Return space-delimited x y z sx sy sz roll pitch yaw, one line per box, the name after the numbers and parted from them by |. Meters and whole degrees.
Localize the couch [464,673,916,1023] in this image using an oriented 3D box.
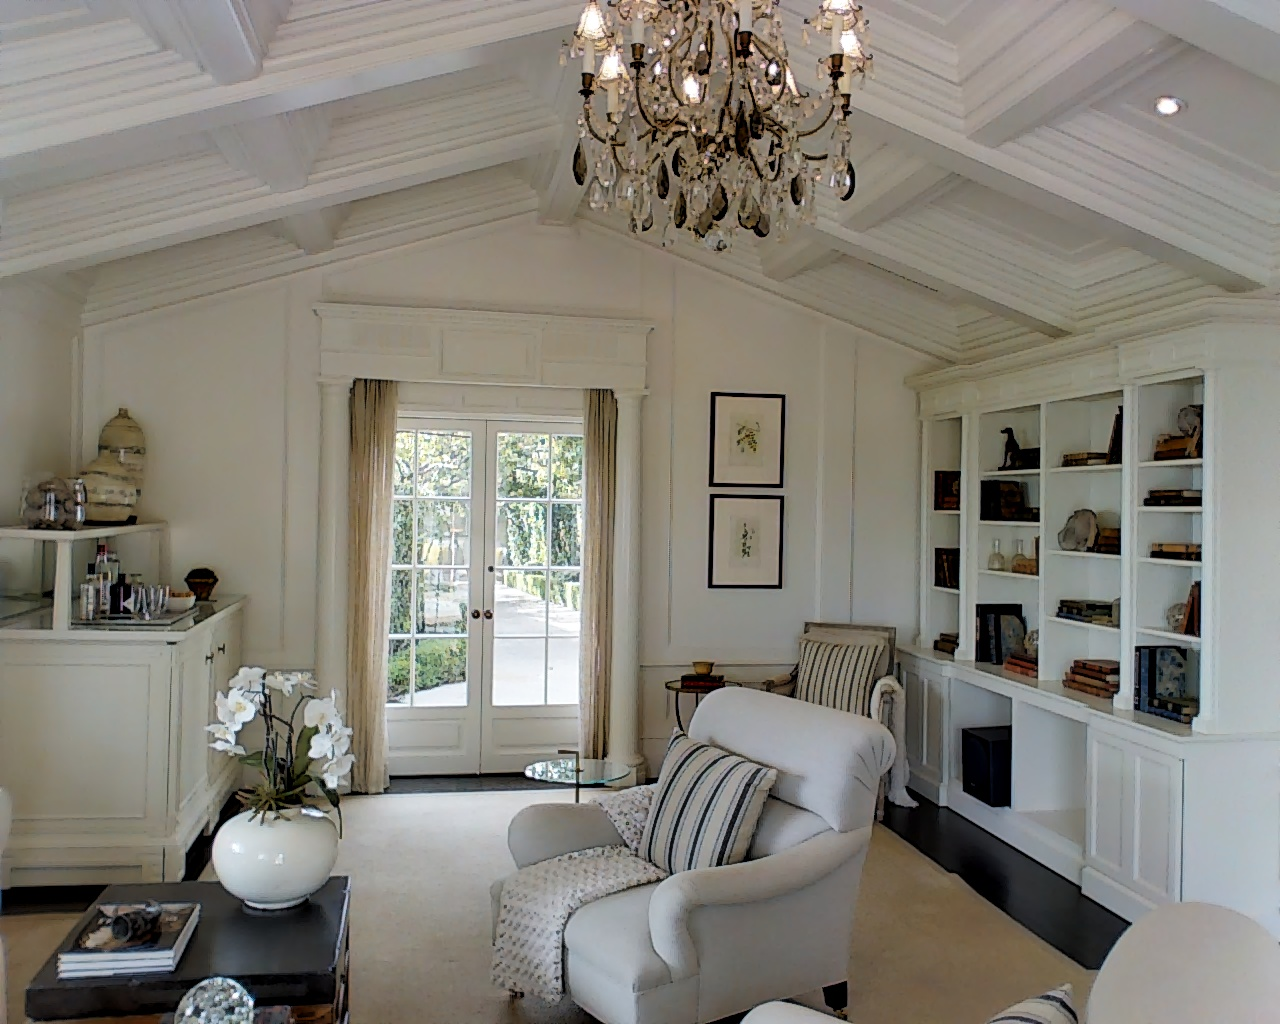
0.150 1.050 3.370 1.070 0.880 0.910 0 0 -38 | couch

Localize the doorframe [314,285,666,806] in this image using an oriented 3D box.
-0.790 0.180 5.820 1.830 2.680 0.220 0 0 -11 | doorframe

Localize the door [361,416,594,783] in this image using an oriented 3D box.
-0.910 0.490 6.100 1.280 2.030 0.070 0 0 -10 | door
